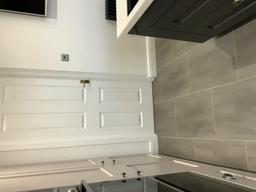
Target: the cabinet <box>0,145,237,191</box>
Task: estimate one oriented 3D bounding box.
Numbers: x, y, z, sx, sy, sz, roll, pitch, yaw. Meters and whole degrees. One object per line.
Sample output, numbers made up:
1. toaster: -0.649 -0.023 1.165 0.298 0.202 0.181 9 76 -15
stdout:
1. cabinet: -0.400 0.870 1.840 1.270 2.180 0.590 161 108 -68
